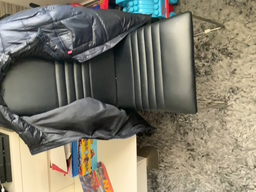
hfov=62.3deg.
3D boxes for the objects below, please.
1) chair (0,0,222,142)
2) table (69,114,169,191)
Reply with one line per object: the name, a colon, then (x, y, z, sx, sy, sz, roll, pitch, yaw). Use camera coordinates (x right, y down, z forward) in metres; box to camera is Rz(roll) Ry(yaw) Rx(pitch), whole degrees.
chair: (0.020, -0.130, 0.970, 0.520, 0.940, 0.400, -2, 93, 39)
table: (-0.050, 0.750, 1.460, 0.550, 0.370, 1.180, 0, 94, 38)
